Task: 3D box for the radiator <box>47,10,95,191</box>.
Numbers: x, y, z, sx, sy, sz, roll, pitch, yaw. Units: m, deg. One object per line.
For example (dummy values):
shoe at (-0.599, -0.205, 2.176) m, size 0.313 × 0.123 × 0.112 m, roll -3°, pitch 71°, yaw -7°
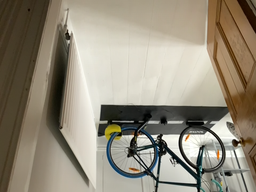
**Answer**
radiator at (-0.420, 0.270, 2.000) m, size 0.110 × 0.950 × 1.790 m, roll -2°, pitch 147°, yaw -6°
